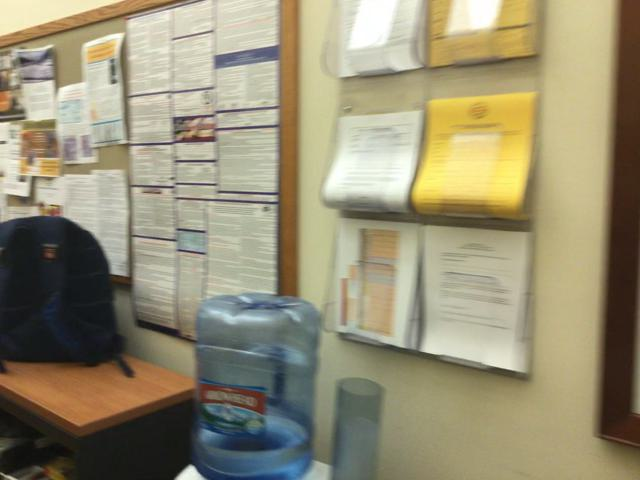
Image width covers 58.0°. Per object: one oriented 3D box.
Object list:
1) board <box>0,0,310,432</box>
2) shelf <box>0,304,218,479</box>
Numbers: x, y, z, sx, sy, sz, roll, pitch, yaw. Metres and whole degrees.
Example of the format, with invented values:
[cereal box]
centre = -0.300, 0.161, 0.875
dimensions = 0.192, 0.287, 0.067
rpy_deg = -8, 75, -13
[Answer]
[board]
centre = -0.760, -0.230, 1.930
dimensions = 1.780, 1.240, 0.090
rpy_deg = 7, 8, 38
[shelf]
centre = -0.790, 0.830, 1.760
dimensions = 0.950, 1.080, 0.400
rpy_deg = 7, 8, 38
